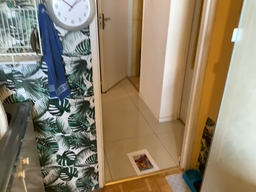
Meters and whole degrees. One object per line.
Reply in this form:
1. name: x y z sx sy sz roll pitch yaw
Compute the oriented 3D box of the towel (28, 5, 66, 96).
1. towel: -0.410 -0.230 1.110 0.120 0.450 0.110 -6 26 -15
